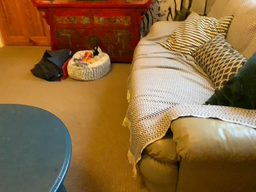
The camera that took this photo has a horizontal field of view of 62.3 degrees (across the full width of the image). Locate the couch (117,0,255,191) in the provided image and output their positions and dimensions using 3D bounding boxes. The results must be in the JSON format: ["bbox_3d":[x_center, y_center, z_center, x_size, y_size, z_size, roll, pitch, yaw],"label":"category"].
[{"bbox_3d":[0.520,-0.220,1.430,1.040,0.820,1.680,1,32,2],"label":"couch"}]
